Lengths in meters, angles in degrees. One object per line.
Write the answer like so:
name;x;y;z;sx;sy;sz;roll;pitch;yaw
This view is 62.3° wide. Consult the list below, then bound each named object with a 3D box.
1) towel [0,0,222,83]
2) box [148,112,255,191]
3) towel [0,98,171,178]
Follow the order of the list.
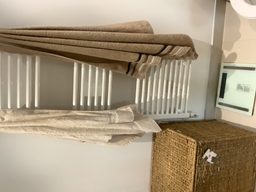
towel;-0.050;-0.270;1.160;0.220;1.310;0.350;16;105;62
box;0.510;0.460;1.450;0.410;0.570;0.610;17;106;62
towel;-0.230;0.180;1.150;0.200;0.970;0.310;17;106;62
